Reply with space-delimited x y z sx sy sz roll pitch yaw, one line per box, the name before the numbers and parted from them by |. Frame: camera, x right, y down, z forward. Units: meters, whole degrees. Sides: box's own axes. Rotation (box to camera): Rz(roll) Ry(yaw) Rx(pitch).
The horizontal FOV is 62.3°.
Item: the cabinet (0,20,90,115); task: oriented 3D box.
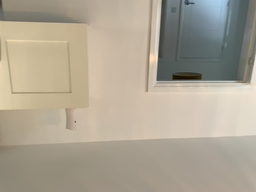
cabinet | -0.590 -0.210 1.490 0.610 0.580 0.340 -1 -164 -8
